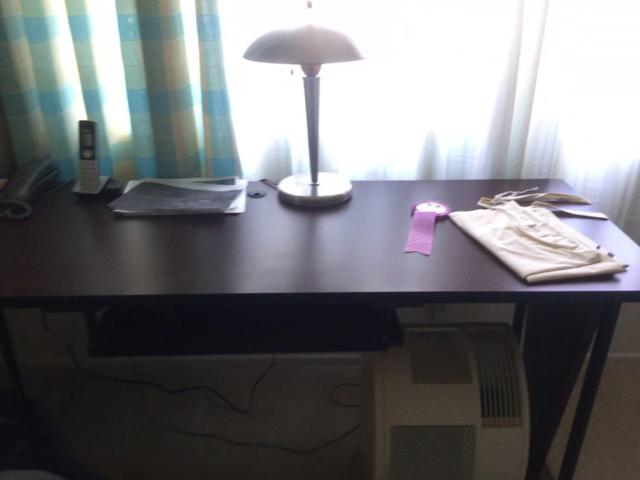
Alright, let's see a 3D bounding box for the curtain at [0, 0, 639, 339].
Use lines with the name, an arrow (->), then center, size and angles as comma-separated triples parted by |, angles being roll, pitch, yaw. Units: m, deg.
curtain -> 0.490, -0.490, 1.450 | 2.910, 1.540, 0.310 | 1, 25, -2
